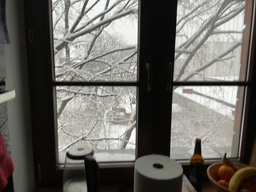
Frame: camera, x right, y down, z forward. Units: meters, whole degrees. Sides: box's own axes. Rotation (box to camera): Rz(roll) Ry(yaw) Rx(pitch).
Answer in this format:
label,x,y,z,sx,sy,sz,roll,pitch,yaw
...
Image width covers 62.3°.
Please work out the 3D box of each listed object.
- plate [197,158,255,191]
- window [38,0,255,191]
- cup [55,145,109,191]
label,x,y,z,sx,sy,sz,roll,pitch,yaw
plate,0.490,0.430,0.990,0.200,0.140,0.310,0,10,-6
window,0.170,-0.230,1.000,1.090,1.510,0.150,0,10,-5
cup,-0.200,0.380,0.960,0.210,0.250,0.180,0,10,-9
